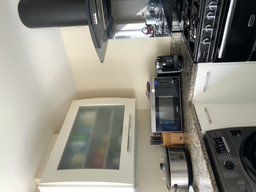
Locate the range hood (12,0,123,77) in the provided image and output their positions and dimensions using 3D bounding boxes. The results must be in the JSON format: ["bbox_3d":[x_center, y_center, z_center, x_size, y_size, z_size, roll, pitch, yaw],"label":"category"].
[{"bbox_3d":[-0.450,-0.670,1.830,0.450,0.730,0.910,-87,-5,-47],"label":"range hood"}]

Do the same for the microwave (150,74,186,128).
[{"bbox_3d":[0.380,0.070,2.120,0.350,0.290,0.500,67,-158,-81],"label":"microwave"}]
